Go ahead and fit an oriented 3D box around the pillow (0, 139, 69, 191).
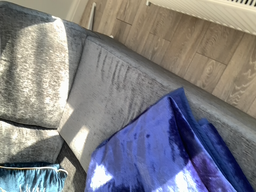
[{"bbox_3d":[-0.680,0.550,1.360,0.220,0.430,0.490,44,117,51],"label":"pillow"}]
